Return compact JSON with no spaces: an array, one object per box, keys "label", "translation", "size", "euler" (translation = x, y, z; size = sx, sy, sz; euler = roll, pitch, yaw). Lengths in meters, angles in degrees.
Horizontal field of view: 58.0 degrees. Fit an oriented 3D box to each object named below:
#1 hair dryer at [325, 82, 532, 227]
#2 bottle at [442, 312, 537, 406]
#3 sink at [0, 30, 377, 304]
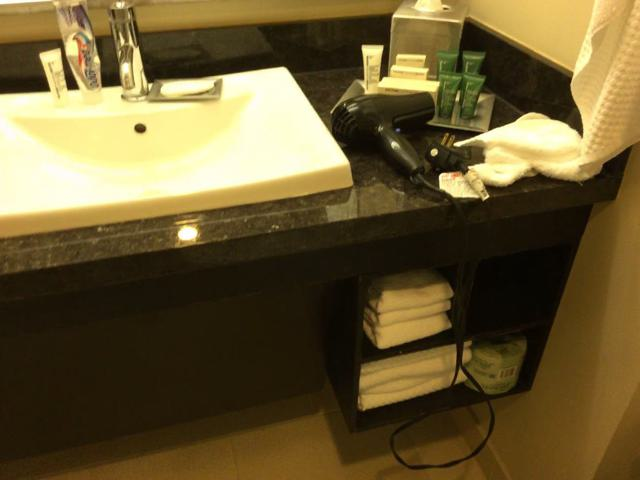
[{"label":"hair dryer","translation":[0.140,-0.140,0.850],"size":[0.190,0.080,0.280],"euler":[-9,36,-15]},{"label":"bottle","translation":[0.340,0.240,1.180],"size":[0.120,0.110,0.130],"euler":[-9,36,-15]},{"label":"sink","translation":[-0.290,-0.160,0.950],"size":[0.620,0.210,0.470],"euler":[-9,36,-15]}]
